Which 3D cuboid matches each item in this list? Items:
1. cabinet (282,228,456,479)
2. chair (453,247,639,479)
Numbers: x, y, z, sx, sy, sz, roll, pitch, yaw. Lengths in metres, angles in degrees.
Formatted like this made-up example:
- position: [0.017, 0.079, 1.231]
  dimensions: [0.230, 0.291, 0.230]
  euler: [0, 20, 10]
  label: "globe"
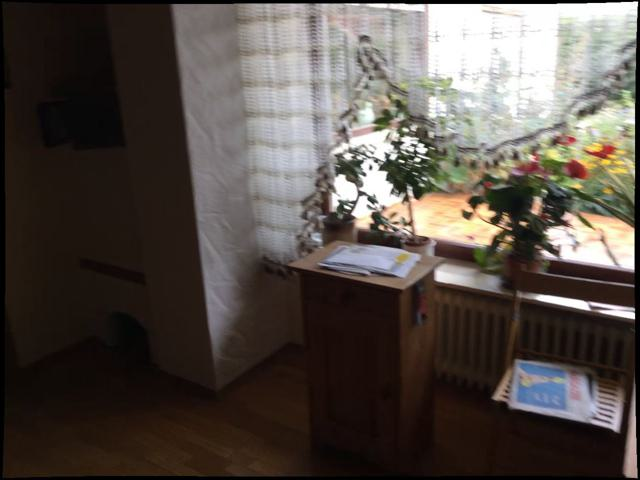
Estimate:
- position: [0.190, 0.420, 2.240]
  dimensions: [0.510, 0.791, 0.390]
  euler: [11, 22, 32]
  label: "cabinet"
- position: [0.889, 0.511, 2.080]
  dimensions: [0.570, 0.721, 0.660]
  euler: [11, 22, 32]
  label: "chair"
